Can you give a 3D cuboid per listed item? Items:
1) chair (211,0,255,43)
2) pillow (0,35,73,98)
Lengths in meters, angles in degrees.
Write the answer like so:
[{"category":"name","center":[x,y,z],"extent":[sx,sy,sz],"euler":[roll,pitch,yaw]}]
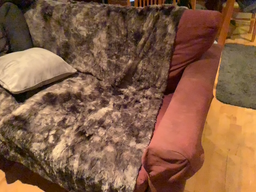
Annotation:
[{"category":"chair","center":[1.380,-1.220,2.500],"extent":[0.530,1.080,0.360],"euler":[6,40,12]},{"category":"pillow","center":[-0.650,-0.210,1.310],"extent":[0.440,0.120,0.390],"euler":[19,44,25]}]
